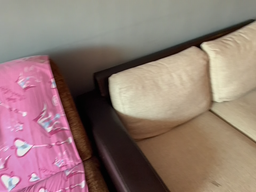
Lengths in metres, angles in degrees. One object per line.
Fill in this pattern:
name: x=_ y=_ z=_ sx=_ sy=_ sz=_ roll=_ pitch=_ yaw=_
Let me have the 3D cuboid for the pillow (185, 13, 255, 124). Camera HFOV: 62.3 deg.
pillow: x=0.820 y=-0.210 z=1.540 sx=0.620 sy=0.510 sz=0.230 roll=-36 pitch=20 yaw=-8

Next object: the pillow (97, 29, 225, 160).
pillow: x=0.210 y=-0.010 z=1.320 sx=0.620 sy=0.480 sz=0.160 roll=-41 pitch=14 yaw=-7

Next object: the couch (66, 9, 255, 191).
couch: x=0.610 y=0.120 z=1.420 sx=1.640 sy=0.760 sz=1.030 roll=-21 pitch=43 yaw=-17
